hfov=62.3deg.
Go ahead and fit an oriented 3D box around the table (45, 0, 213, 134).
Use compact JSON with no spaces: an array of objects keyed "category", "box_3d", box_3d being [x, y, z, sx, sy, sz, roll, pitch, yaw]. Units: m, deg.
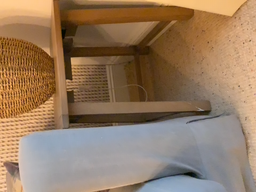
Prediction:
[{"category":"table","box_3d":[-0.060,-0.090,0.970,0.540,0.570,0.440,159,106,-67]}]
